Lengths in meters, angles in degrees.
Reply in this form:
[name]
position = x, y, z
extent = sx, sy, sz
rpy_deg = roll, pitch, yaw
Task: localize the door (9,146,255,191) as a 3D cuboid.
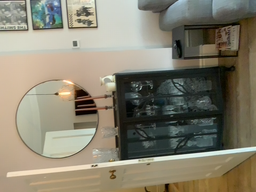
[door]
position = 0.120, 0.730, 1.990
extent = 0.790, 2.020, 0.050
rpy_deg = 99, 164, -57
